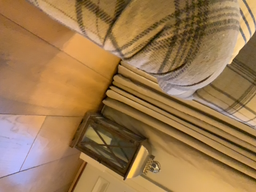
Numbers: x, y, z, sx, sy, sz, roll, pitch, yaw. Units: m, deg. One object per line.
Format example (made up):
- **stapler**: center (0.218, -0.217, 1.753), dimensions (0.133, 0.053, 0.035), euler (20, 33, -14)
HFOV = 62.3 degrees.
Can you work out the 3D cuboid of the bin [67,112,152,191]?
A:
- **bin**: center (-0.120, 0.360, 1.480), dimensions (0.290, 0.470, 0.230), euler (-64, 167, 7)
